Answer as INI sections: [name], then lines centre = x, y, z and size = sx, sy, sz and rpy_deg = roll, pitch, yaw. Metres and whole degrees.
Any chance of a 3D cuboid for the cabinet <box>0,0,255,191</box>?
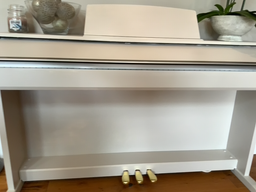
[cabinet]
centre = 0.040, 0.050, 1.150
size = 1.460, 1.030, 0.520
rpy_deg = 0, 17, -10
